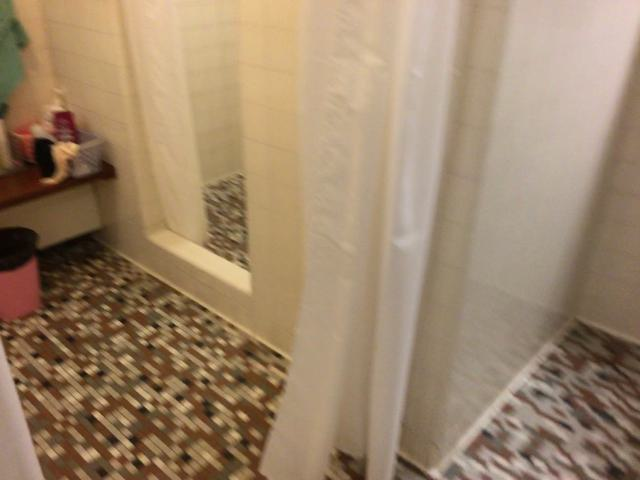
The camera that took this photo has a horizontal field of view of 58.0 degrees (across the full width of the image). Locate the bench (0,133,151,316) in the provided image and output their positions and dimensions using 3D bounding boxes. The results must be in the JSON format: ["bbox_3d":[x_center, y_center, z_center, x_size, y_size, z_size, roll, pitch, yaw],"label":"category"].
[{"bbox_3d":[-1.340,0.020,2.120,0.420,0.450,1.310,24,36,37],"label":"bench"}]

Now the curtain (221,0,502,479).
[{"bbox_3d":[0.080,-0.080,1.130,0.290,1.630,0.380,24,36,37],"label":"curtain"}]

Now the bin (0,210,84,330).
[{"bbox_3d":[-1.150,0.100,2.200,0.340,0.260,0.300,24,36,37],"label":"bin"}]

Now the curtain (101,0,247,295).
[{"bbox_3d":[-0.530,-0.740,2.010,0.290,1.940,0.310,24,36,37],"label":"curtain"}]
